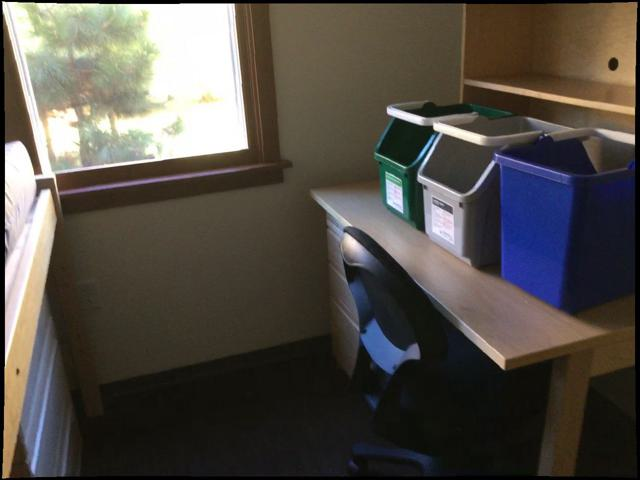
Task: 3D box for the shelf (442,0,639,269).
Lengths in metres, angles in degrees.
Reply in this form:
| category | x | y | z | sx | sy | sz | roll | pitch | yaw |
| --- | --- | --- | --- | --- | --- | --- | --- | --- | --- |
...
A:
| category | x | y | z | sx | sy | sz | roll | pitch | yaw |
| --- | --- | --- | --- | --- | --- | --- | --- | --- | --- |
| shelf | 0.768 | -0.471 | 1.720 | 0.379 | 0.792 | 0.850 | -10 | 23 | -18 |

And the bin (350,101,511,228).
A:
| category | x | y | z | sx | sy | sz | roll | pitch | yaw |
| --- | --- | --- | --- | --- | --- | --- | --- | --- | --- |
| bin | 0.339 | -0.261 | 1.860 | 0.369 | 0.291 | 0.350 | -10 | 23 | -18 |

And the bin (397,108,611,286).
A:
| category | x | y | z | sx | sy | sz | roll | pitch | yaw |
| --- | --- | --- | --- | --- | --- | --- | --- | --- | --- |
| bin | 0.469 | -0.140 | 1.560 | 0.399 | 0.341 | 0.350 | -10 | 23 | -18 |

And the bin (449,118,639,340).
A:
| category | x | y | z | sx | sy | sz | roll | pitch | yaw |
| --- | --- | --- | --- | --- | --- | --- | --- | --- | --- |
| bin | 0.598 | -0.060 | 1.350 | 0.409 | 0.341 | 0.410 | -10 | 23 | -18 |
